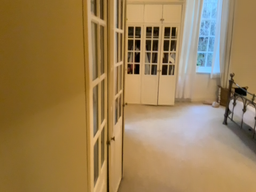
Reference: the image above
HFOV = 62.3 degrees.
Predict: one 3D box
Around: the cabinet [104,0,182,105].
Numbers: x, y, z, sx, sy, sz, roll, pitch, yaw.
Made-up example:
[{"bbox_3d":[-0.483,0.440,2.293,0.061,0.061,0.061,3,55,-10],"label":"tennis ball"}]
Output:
[{"bbox_3d":[0.280,-0.940,4.720,1.540,2.190,0.570,1,14,1],"label":"cabinet"}]
